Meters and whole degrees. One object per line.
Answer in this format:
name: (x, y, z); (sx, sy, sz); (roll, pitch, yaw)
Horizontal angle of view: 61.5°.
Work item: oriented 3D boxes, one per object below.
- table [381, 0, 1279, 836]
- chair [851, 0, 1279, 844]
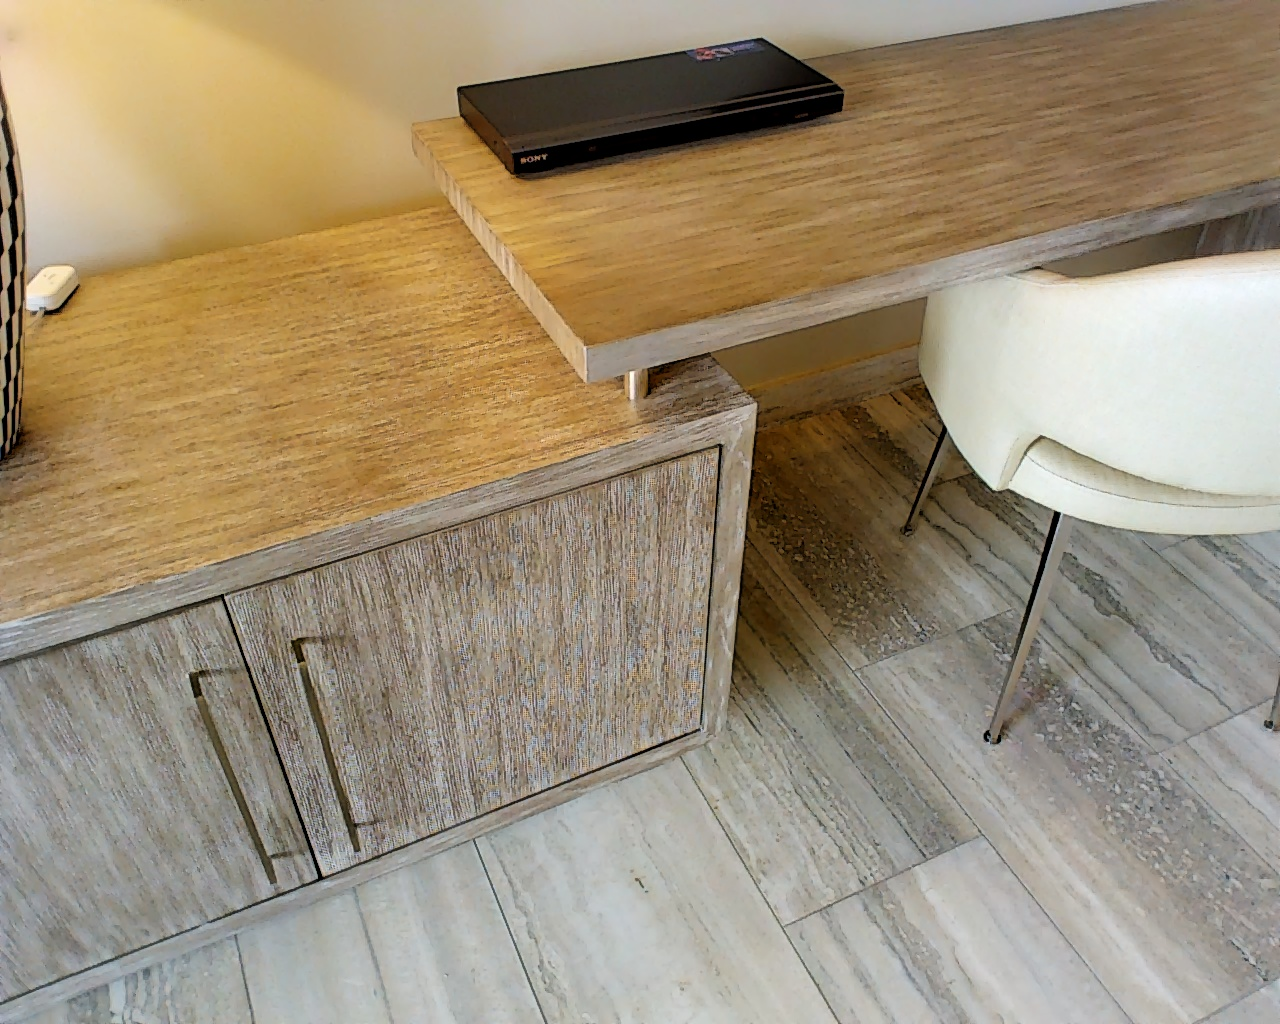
table: (0.610, -0.310, 1.670); (1.760, 0.730, 0.700); (-17, 44, -19)
chair: (0.700, -0.110, 1.360); (0.650, 0.830, 0.660); (-1, 41, -1)
